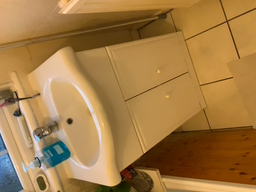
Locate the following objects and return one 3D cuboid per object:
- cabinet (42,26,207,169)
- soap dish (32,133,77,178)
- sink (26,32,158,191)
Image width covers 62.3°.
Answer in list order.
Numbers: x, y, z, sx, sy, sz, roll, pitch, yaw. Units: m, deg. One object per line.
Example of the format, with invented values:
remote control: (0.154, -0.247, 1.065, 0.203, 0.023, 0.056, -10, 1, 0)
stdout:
cabinet: (0.040, -0.040, 1.200, 0.360, 0.770, 0.520, -15, 96, 47)
soap dish: (-0.330, 0.260, 0.950, 0.120, 0.110, 0.150, -14, 97, 47)
sink: (-0.180, 0.080, 0.920, 0.440, 0.190, 0.540, -15, 96, 47)
